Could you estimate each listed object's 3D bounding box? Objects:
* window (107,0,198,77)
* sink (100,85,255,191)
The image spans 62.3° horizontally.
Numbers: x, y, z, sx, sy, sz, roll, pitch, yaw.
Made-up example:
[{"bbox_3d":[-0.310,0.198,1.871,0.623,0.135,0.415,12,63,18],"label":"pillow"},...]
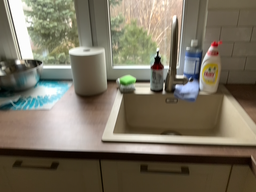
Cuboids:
[{"bbox_3d":[0.120,-0.710,1.000,0.450,1.280,0.090,2,26,6],"label":"window"},{"bbox_3d":[0.210,0.150,0.940,0.570,0.230,0.450,1,26,4],"label":"sink"}]
